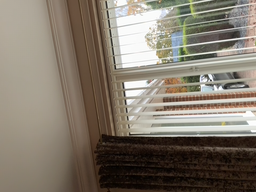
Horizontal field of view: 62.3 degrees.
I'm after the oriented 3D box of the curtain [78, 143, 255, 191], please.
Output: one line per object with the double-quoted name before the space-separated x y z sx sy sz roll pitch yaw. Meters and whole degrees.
"curtain" 0.680 0.570 1.540 0.130 2.200 0.430 -40 -56 -70
